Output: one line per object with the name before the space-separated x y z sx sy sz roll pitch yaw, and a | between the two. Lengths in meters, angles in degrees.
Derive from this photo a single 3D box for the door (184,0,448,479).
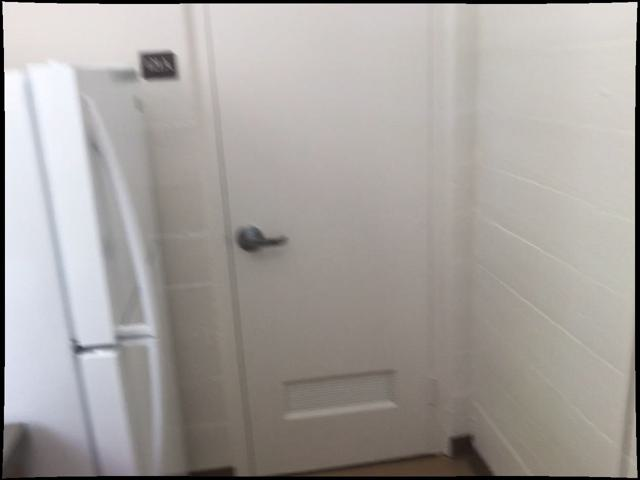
door | 0.030 0.010 2.010 0.818 1.854 0.080 -5 15 -8
